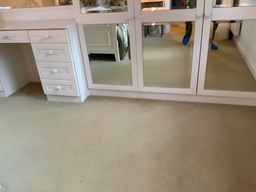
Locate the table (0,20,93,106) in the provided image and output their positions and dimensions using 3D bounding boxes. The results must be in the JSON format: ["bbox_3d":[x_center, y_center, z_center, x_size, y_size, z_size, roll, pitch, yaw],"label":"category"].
[{"bbox_3d":[-1.020,-0.350,2.210,1.170,0.770,0.310,4,29,15],"label":"table"}]
